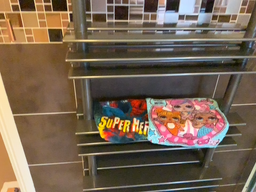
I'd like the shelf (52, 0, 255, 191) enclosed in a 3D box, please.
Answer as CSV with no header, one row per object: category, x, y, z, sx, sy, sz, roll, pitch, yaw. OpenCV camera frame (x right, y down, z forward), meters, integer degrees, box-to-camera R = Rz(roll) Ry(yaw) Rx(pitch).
shelf,0.100,0.110,0.850,0.610,1.470,0.220,-1,31,-7
